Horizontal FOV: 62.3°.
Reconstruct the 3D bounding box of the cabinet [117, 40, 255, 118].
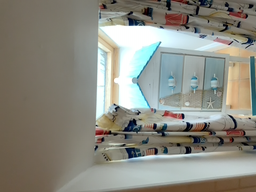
[{"bbox_3d":[0.440,-0.090,1.470,0.360,0.960,0.420,-169,81,-71],"label":"cabinet"}]
